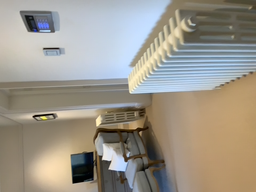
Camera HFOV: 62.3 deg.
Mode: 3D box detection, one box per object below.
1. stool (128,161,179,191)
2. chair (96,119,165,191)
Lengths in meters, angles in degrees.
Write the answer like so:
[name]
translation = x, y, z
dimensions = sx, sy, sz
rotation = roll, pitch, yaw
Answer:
[stool]
translation = 0.340, 1.440, 3.100
dimensions = 0.540, 0.460, 0.820
rotation = -109, 21, -46
[chair]
translation = -0.030, 1.010, 3.540
dimensions = 0.850, 0.880, 0.820
rotation = -109, 21, -46
